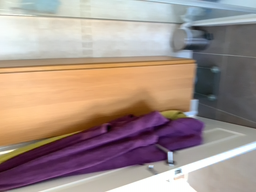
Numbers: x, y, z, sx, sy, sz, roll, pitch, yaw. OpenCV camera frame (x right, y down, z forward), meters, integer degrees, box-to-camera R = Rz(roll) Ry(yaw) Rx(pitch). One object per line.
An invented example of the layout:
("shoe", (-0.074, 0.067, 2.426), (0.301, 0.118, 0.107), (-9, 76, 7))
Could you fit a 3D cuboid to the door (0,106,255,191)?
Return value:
("door", (-0.040, 0.310, 1.300), (0.750, 1.920, 0.100), (19, 113, 61))
